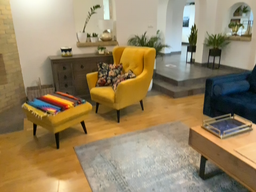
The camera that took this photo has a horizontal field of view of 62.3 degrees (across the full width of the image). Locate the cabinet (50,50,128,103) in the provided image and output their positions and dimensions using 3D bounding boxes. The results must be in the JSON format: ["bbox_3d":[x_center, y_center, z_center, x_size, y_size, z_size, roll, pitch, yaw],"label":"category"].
[{"bbox_3d":[-0.750,-0.440,4.300,1.440,0.830,0.460,-9,21,-24],"label":"cabinet"}]

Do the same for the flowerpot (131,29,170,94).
[{"bbox_3d":[0.440,-0.740,4.460,0.610,1.240,0.540,-8,20,-19],"label":"flowerpot"}]
